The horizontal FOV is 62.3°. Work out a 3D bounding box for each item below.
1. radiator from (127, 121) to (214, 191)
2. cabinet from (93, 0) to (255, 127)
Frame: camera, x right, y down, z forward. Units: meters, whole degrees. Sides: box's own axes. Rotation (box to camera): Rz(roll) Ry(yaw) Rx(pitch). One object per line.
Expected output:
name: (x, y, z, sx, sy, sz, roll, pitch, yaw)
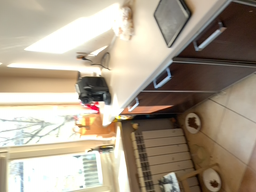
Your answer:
radiator: (0.440, 0.780, 2.030, 0.150, 0.700, 1.060, 128, 136, -53)
cabinet: (0.460, -0.380, 1.470, 2.080, 0.870, 0.550, 133, 131, -56)
